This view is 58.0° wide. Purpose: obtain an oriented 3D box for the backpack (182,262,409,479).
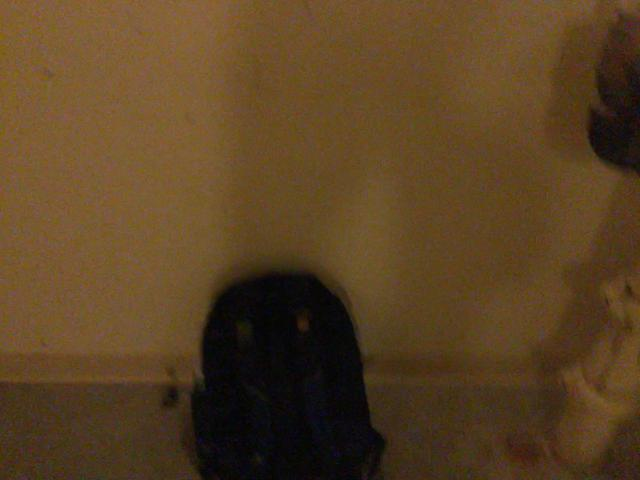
[{"bbox_3d":[-0.070,0.320,1.270,0.400,0.400,0.340,3,37,-6],"label":"backpack"}]
